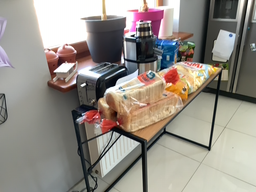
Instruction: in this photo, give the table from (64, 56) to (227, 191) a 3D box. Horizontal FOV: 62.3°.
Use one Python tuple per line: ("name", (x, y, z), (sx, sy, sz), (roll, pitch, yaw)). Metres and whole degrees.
("table", (0.200, 0.260, 1.490), (0.510, 0.770, 1.020), (19, 34, 36))
